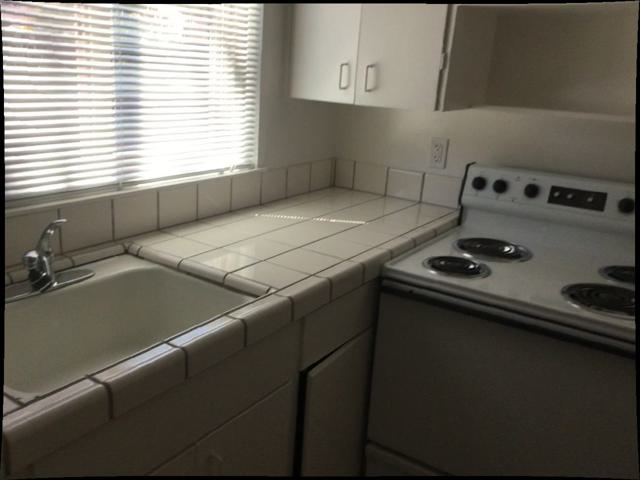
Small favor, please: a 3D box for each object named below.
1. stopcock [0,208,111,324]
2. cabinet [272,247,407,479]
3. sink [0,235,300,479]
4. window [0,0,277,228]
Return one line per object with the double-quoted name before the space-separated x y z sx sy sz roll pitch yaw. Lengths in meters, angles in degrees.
"stopcock" -0.669 0.050 1.350 0.160 0.170 0.290 16 22 31
"cabinet" 0.050 0.521 1.640 0.090 0.921 0.470 16 22 31
"sink" -0.459 0.240 1.240 0.569 0.250 0.610 16 22 31
"window" -0.569 -0.631 1.390 0.190 1.082 1.249 16 22 31
